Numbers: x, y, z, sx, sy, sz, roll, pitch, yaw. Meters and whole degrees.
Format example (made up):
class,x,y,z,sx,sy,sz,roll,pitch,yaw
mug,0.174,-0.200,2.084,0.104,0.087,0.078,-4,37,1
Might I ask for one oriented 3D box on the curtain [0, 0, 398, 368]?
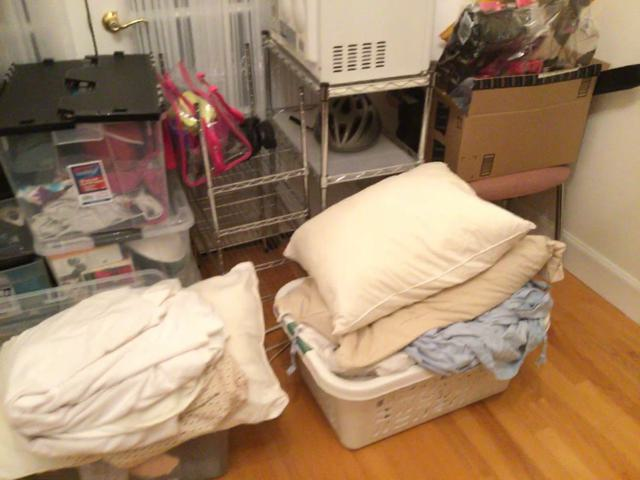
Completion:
class,x,y,z,sx,sy,sz,roll,pitch,yaw
curtain,-0.580,-0.470,1.670,1.620,1.520,0.360,-14,32,-19
